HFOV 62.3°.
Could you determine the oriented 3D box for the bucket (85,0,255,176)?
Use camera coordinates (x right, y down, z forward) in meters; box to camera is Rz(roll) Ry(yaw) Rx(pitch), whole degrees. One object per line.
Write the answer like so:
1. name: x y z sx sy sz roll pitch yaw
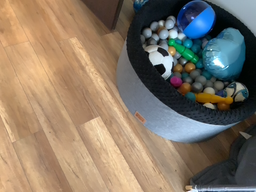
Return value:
1. bucket: 0.380 -0.200 1.450 0.910 0.450 1.020 -25 72 -28
